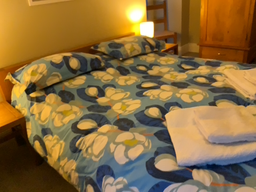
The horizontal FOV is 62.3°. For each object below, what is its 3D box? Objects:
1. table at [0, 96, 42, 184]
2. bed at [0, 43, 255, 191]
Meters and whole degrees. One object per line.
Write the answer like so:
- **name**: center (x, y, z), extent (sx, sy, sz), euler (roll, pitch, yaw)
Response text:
- **table**: center (-1.070, 0.350, 1.670), extent (0.480, 0.450, 0.470), euler (20, 36, 41)
- **bed**: center (0.240, 0.110, 1.760), extent (2.250, 0.510, 1.780), euler (19, 35, 39)
